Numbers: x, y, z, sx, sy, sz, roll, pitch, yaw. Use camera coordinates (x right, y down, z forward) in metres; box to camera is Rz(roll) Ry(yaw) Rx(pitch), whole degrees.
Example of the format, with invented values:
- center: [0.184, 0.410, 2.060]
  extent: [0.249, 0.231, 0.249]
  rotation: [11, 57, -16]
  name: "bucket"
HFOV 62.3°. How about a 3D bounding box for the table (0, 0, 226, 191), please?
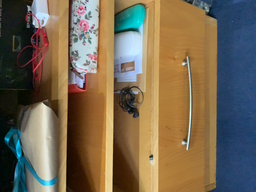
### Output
- center: [-0.130, -0.460, 0.720]
  extent: [0.550, 0.720, 1.570]
  rotation: [-1, 88, 55]
  name: "table"
